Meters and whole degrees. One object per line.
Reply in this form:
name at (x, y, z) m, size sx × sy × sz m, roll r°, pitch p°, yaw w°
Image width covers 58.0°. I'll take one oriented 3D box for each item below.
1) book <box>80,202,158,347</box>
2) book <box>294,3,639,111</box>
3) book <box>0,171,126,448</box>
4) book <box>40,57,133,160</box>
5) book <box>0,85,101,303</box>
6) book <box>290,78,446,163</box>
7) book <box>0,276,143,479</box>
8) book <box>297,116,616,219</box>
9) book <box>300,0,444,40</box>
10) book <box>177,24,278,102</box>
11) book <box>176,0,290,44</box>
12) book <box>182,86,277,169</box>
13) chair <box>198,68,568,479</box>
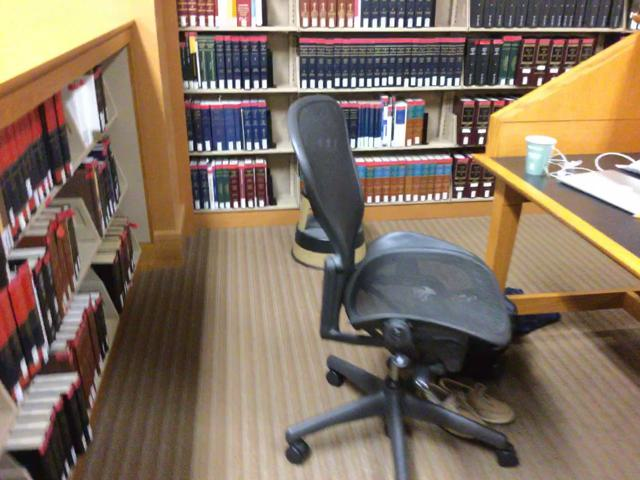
book at (-0.820, 0.120, 2.420) m, size 0.110 × 0.370 × 0.590 m, roll -7°, pitch 23°, yaw -3°
book at (0.800, -1.020, 3.190) m, size 1.840 × 0.360 × 0.280 m, roll -7°, pitch 23°, yaw -3°
book at (-0.750, 0.120, 1.620) m, size 0.140 × 0.380 × 0.870 m, roll -7°, pitch 23°, yaw -3°
book at (-0.830, -0.500, 2.120) m, size 0.120 × 0.260 × 0.570 m, roll -7°, pitch 23°, yaw -3°
book at (-0.700, -0.160, 1.400) m, size 0.080 × 0.310 × 0.740 m, roll -7°, pitch 23°, yaw -3°
book at (0.270, -0.680, 3.270) m, size 0.830 × 0.340 × 0.250 m, roll -7°, pitch 23°, yaw -3°
book at (-0.700, 0.480, 1.630) m, size 0.160 × 0.410 × 0.840 m, roll -7°, pitch 23°, yaw -3°
book at (0.790, -0.440, 3.420) m, size 1.810 × 0.340 × 0.250 m, roll -7°, pitch 23°, yaw -3°
book at (0.260, -1.250, 3.000) m, size 0.710 × 0.320 × 0.230 m, roll -7°, pitch 23°, yaw -3°
book at (-0.470, -0.930, 3.020) m, size 0.460 × 0.320 × 0.260 m, roll -7°, pitch 23°, yaw -3°
book at (-0.430, -1.180, 2.880) m, size 0.520 × 0.310 × 0.270 m, roll -7°, pitch 23°, yaw -3°
book at (-0.480, -0.620, 3.150) m, size 0.440 × 0.350 × 0.270 m, roll -7°, pitch 23°, yaw -3°
chair at (0.210, 0.130, 1.650) m, size 0.730 × 1.060 × 0.670 m, roll -1°, pitch 24°, yaw 12°
